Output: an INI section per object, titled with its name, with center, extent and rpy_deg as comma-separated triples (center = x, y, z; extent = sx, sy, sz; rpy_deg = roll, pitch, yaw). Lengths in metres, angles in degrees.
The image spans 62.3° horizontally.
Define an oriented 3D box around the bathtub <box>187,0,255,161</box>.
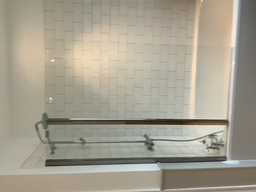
[bathtub]
center = 1.100, -0.430, 2.160
extent = 0.800, 0.580, 1.910
rpy_deg = -141, 52, -80
